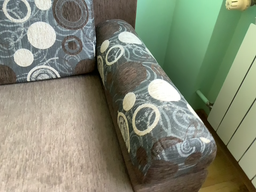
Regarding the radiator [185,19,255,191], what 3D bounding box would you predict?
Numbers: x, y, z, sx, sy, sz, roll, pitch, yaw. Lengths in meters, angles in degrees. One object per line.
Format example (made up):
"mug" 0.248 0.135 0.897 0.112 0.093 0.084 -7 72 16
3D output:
"radiator" 0.480 0.130 0.800 0.150 0.640 0.520 -8 44 -14
